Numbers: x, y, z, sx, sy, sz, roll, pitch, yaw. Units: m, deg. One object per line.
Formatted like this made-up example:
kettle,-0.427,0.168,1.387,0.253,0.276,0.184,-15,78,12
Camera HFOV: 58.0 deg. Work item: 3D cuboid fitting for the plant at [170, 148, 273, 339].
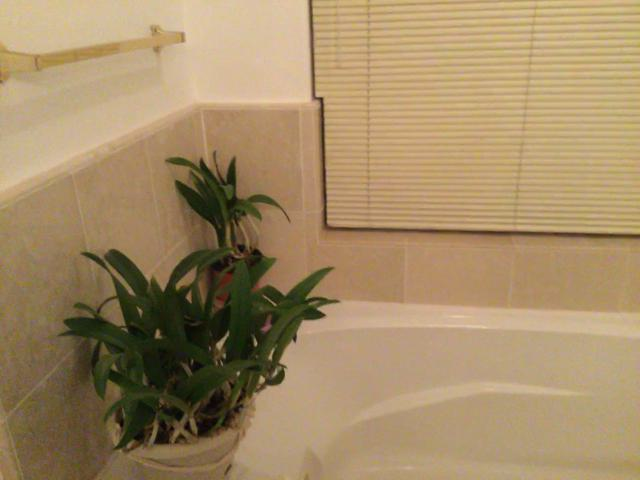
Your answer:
plant,-0.270,0.010,1.670,0.160,0.500,0.220,-1,22,11

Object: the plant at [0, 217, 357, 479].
plant,-0.200,0.260,1.050,0.460,0.460,0.470,-1,22,11
